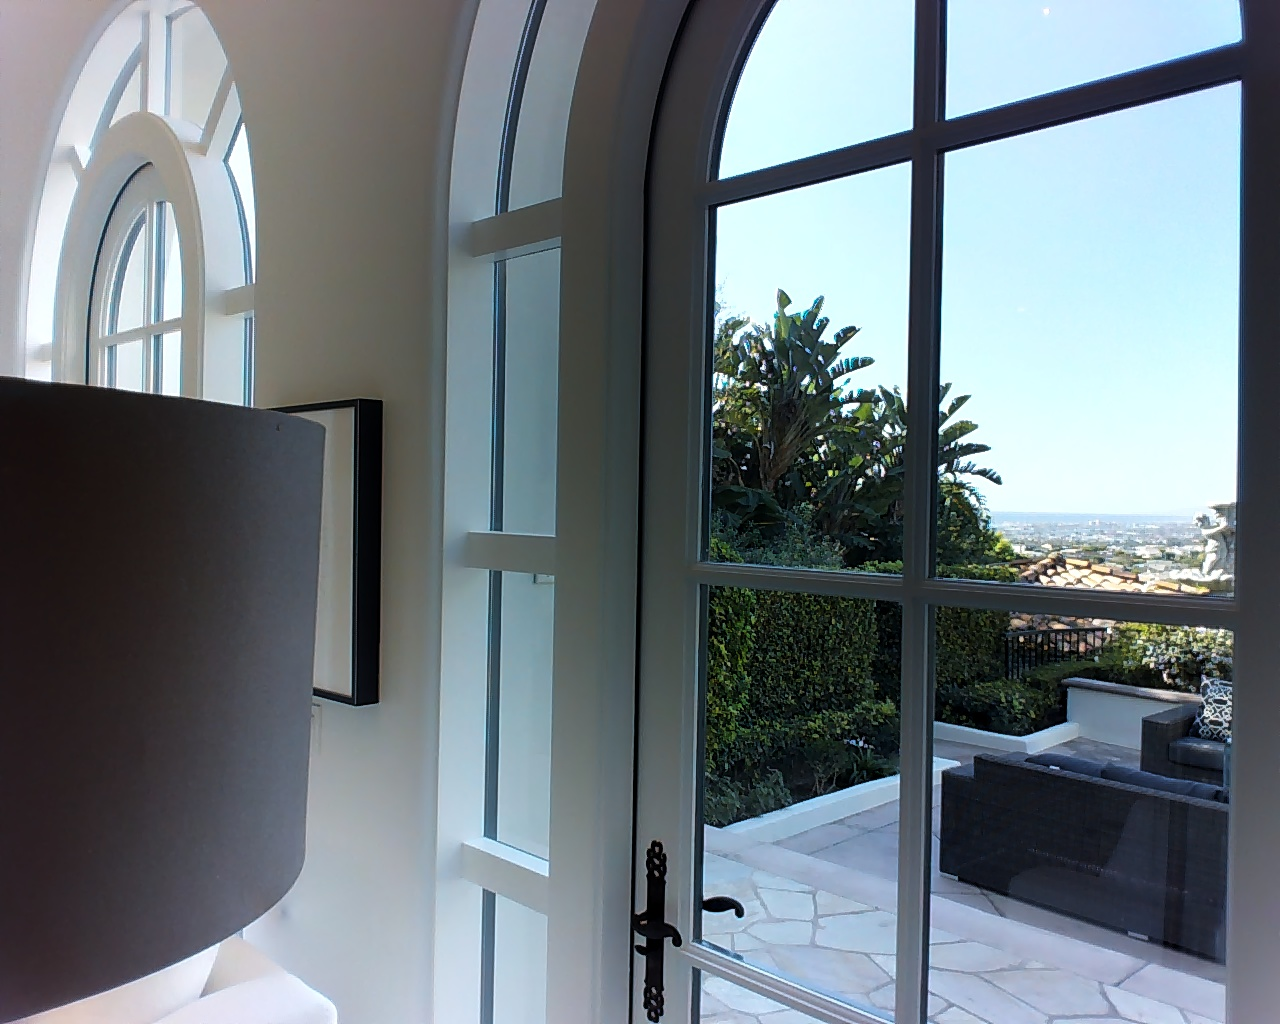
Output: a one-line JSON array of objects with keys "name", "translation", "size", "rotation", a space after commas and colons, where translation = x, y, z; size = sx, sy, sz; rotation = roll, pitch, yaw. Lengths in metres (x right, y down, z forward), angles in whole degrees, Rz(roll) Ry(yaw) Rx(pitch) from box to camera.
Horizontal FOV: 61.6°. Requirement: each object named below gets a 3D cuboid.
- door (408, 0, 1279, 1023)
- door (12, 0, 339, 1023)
[{"name": "door", "translation": [0.350, 0.050, 1.480], "size": [0.200, 3.181, 2.080], "rotation": [1, 0, -44]}, {"name": "door", "translation": [-1.619, 0.010, 3.510], "size": [0.220, 3.151, 2.050], "rotation": [1, 0, -44]}]
